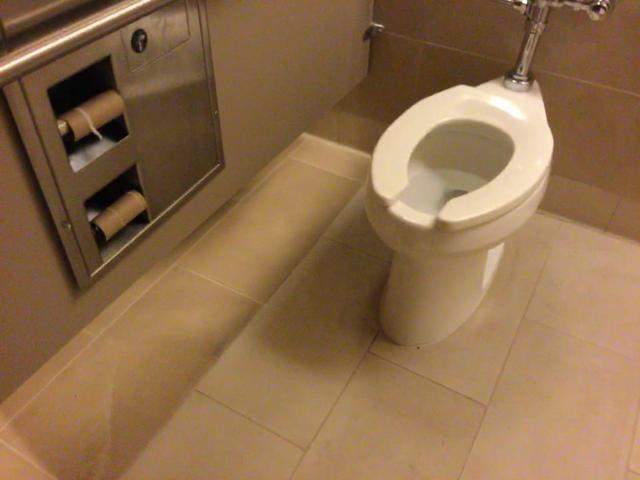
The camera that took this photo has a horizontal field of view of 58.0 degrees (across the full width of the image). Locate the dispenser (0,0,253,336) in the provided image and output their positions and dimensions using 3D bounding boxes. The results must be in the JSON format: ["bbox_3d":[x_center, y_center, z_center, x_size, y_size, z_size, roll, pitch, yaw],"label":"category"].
[{"bbox_3d":[-0.320,-0.170,1.030,0.050,0.430,0.560,20,46,22],"label":"dispenser"}]

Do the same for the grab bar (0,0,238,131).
[{"bbox_3d":[-0.180,-0.460,1.000,0.090,0.070,1.250,20,46,22],"label":"grab bar"}]
